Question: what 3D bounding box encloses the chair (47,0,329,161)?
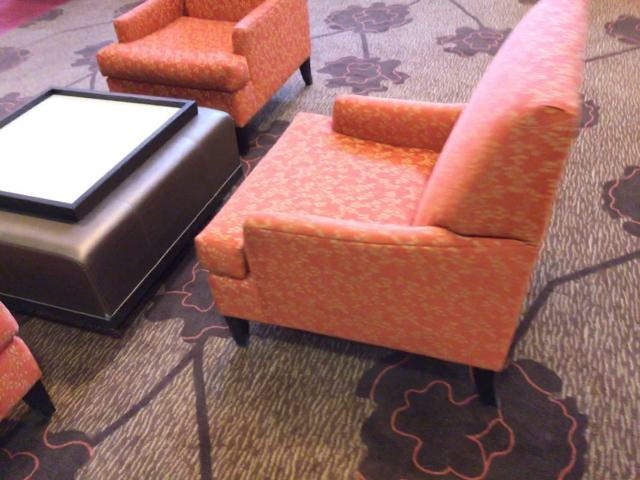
[{"bbox_3d":[-0.550,-1.040,2.740,0.790,0.890,0.920,8,47,22],"label":"chair"}]
